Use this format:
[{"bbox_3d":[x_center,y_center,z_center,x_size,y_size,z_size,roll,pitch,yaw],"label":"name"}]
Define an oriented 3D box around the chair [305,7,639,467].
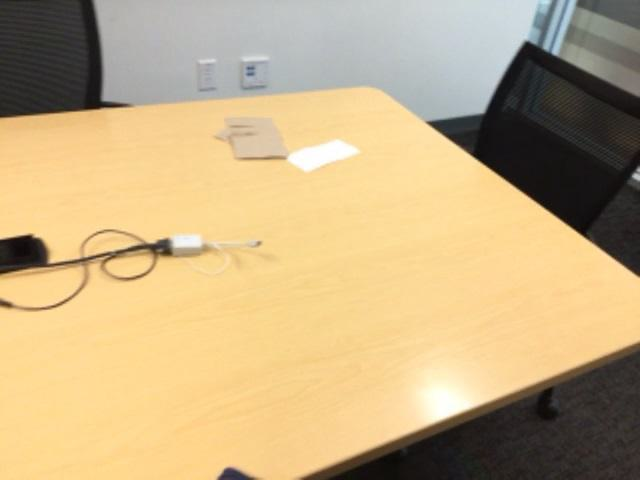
[{"bbox_3d":[0.400,-0.040,1.520,0.570,0.910,0.640,-15,41,-27],"label":"chair"}]
